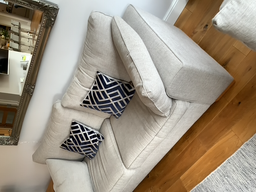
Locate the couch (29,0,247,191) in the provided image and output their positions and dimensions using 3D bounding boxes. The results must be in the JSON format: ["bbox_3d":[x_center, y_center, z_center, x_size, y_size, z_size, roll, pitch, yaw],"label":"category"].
[{"bbox_3d":[-0.240,0.340,2.180,2.270,0.930,1.090,-58,40,30],"label":"couch"}]
